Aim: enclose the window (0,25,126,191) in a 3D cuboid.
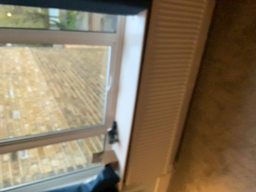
[{"bbox_3d":[-0.890,0.170,1.330,0.080,1.830,1.190,38,127,52],"label":"window"}]
